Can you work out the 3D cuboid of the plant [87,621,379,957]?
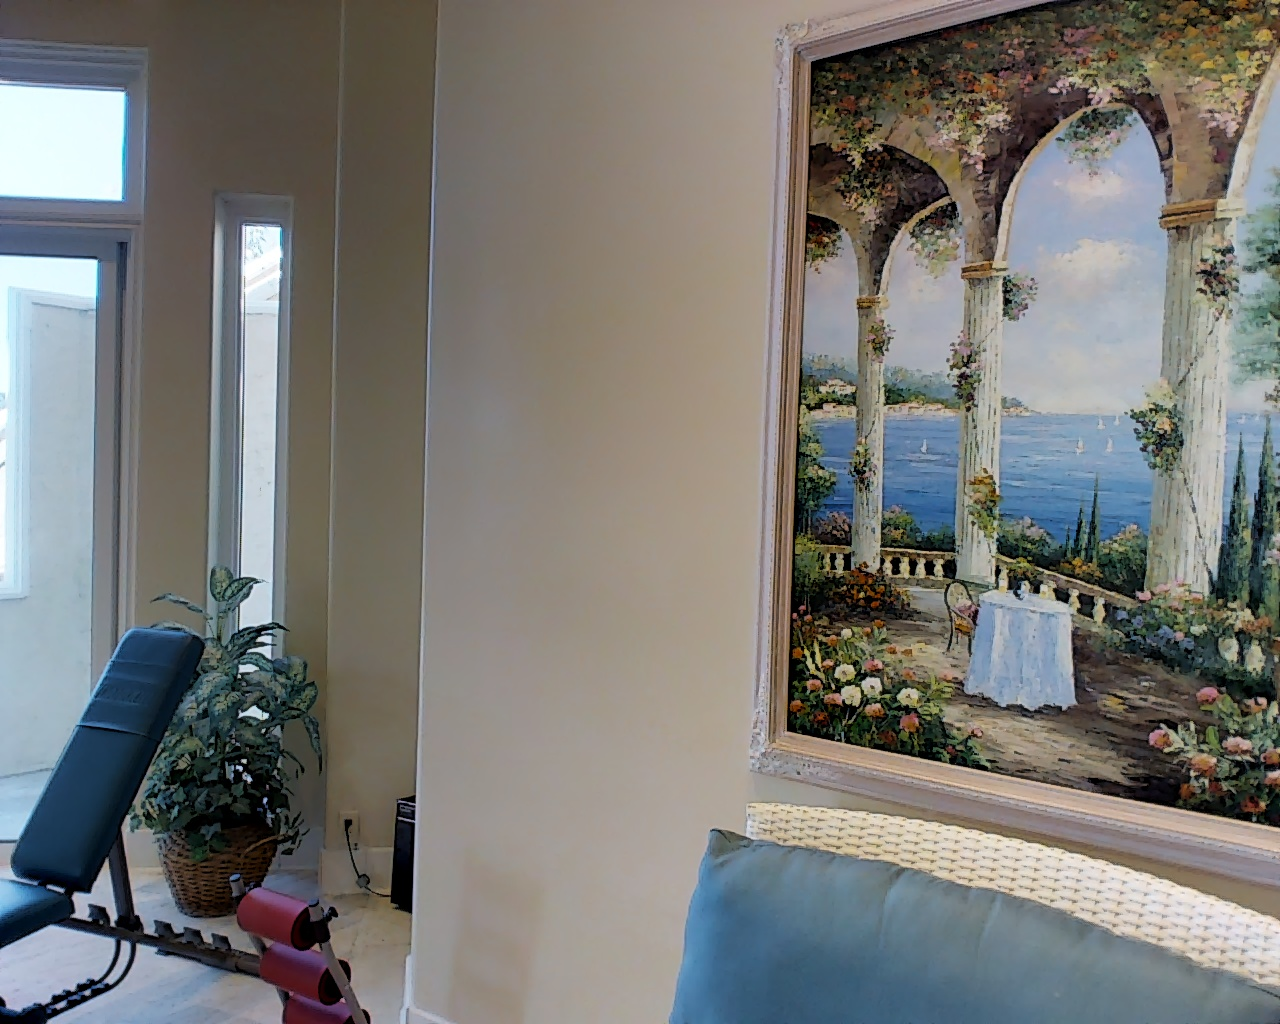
[{"bbox_3d":[-1.390,0.880,3.680,0.630,0.900,0.700,2,1,39],"label":"plant"}]

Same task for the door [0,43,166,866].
[{"bbox_3d":[-2.730,-0.210,3.980,1.770,3.030,0.140,1,1,-6],"label":"door"}]
